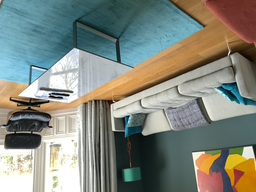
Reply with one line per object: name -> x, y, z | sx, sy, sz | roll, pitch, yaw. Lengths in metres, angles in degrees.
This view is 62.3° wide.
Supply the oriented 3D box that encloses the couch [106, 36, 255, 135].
couch -> 0.790, 0.080, 3.420 | 1.100, 0.740, 2.320 | 10, 157, -40
